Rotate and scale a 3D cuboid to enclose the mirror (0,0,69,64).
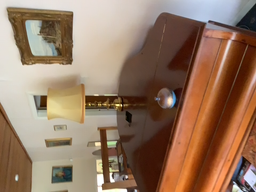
[{"bbox_3d":[-0.770,-0.520,1.860,0.650,0.470,0.060,117,148,-56],"label":"mirror"}]
